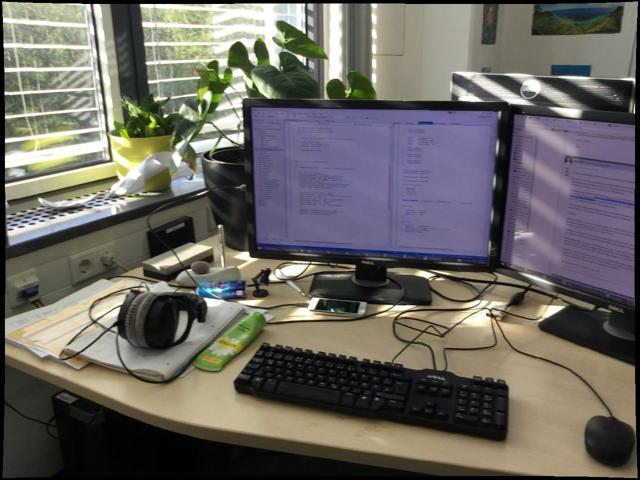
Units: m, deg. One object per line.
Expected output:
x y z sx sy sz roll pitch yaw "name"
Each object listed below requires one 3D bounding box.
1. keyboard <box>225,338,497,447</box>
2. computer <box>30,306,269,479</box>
0.070 0.240 0.950 0.420 0.030 0.150 5 21 15 "keyboard"
-0.470 0.521 1.720 0.390 0.390 0.520 12 24 29 "computer"
